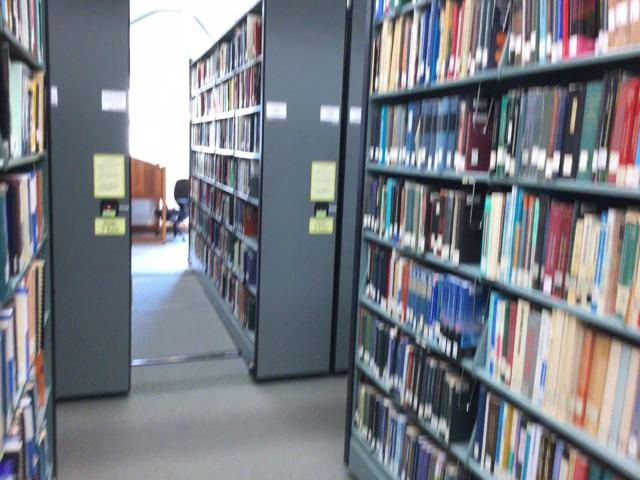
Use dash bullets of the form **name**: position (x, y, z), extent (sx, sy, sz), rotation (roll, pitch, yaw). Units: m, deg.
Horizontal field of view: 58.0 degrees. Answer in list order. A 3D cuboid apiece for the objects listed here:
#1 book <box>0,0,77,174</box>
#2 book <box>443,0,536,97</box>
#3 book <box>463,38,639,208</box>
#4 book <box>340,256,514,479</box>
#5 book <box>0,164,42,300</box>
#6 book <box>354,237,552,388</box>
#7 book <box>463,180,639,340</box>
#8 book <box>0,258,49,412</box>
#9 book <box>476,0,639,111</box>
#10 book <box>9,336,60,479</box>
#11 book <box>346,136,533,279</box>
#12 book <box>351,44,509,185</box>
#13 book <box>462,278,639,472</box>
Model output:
- **book**: position (-0.840, -0.550, 1.740), extent (0.150, 0.660, 0.820), rotation (2, 3, -21)
- **book**: position (0.540, -0.660, 1.860), extent (0.140, 0.340, 0.260), rotation (2, 3, -21)
- **book**: position (0.740, -0.260, 1.410), extent (0.250, 0.350, 0.940), rotation (2, 3, -21)
- **book**: position (0.360, 0.420, 2.290), extent (0.170, 0.620, 0.950), rotation (2, 3, -21)
- **book**: position (-0.820, -0.040, 1.560), extent (0.060, 0.300, 0.620), rotation (2, 3, -21)
- **book**: position (0.440, 0.220, 2.220), extent (0.220, 0.390, 0.960), rotation (2, 3, -21)
- **book**: position (0.730, 0.030, 1.490), extent (0.270, 0.340, 0.810), rotation (2, 3, -21)
- **book**: position (-0.850, 0.250, 1.680), extent (0.070, 0.350, 0.430), rotation (2, 3, -21)
- **book**: position (0.730, -0.570, 1.420), extent (0.230, 0.370, 0.780), rotation (2, 3, -21)
- **book**: position (-0.930, 0.600, 1.910), extent (0.070, 0.390, 0.770), rotation (2, 3, -21)
- **book**: position (0.400, -0.130, 2.250), extent (0.230, 0.440, 0.920), rotation (2, 3, -21)
- **book**: position (0.370, -0.430, 2.220), extent (0.150, 0.410, 0.850), rotation (2, 3, -21)
- **book**: position (0.720, 0.320, 1.520), extent (0.240, 0.330, 0.800), rotation (2, 3, -21)
